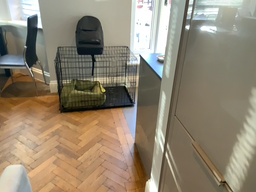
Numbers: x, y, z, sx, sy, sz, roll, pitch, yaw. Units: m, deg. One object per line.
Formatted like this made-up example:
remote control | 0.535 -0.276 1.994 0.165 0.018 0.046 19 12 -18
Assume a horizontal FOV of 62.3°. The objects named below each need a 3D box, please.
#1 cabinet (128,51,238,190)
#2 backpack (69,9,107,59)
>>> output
cabinet | 0.340 0.170 1.720 0.530 0.900 0.580 -5 29 -13
backpack | -0.480 -0.730 2.530 0.350 0.490 0.270 -10 -2 -13
